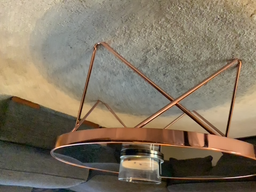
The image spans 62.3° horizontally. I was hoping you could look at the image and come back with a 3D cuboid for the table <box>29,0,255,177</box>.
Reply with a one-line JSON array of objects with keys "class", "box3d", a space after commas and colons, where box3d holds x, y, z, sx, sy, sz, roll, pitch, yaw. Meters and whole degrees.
[{"class": "table", "box3d": [0.120, 0.110, 0.960, 0.750, 0.390, 0.770, 25, 148, -36]}]
